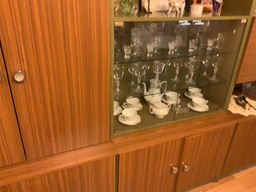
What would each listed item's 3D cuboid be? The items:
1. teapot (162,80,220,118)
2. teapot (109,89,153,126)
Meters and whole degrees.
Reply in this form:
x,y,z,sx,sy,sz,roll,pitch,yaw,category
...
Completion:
x,y,z,sx,sy,sz,roll,pitch,yaw,category
0.480,0.010,1.670,0.250,0.110,0.370,-10,29,-25,teapot
0.010,0.070,1.500,0.210,0.110,0.290,-8,28,-22,teapot
